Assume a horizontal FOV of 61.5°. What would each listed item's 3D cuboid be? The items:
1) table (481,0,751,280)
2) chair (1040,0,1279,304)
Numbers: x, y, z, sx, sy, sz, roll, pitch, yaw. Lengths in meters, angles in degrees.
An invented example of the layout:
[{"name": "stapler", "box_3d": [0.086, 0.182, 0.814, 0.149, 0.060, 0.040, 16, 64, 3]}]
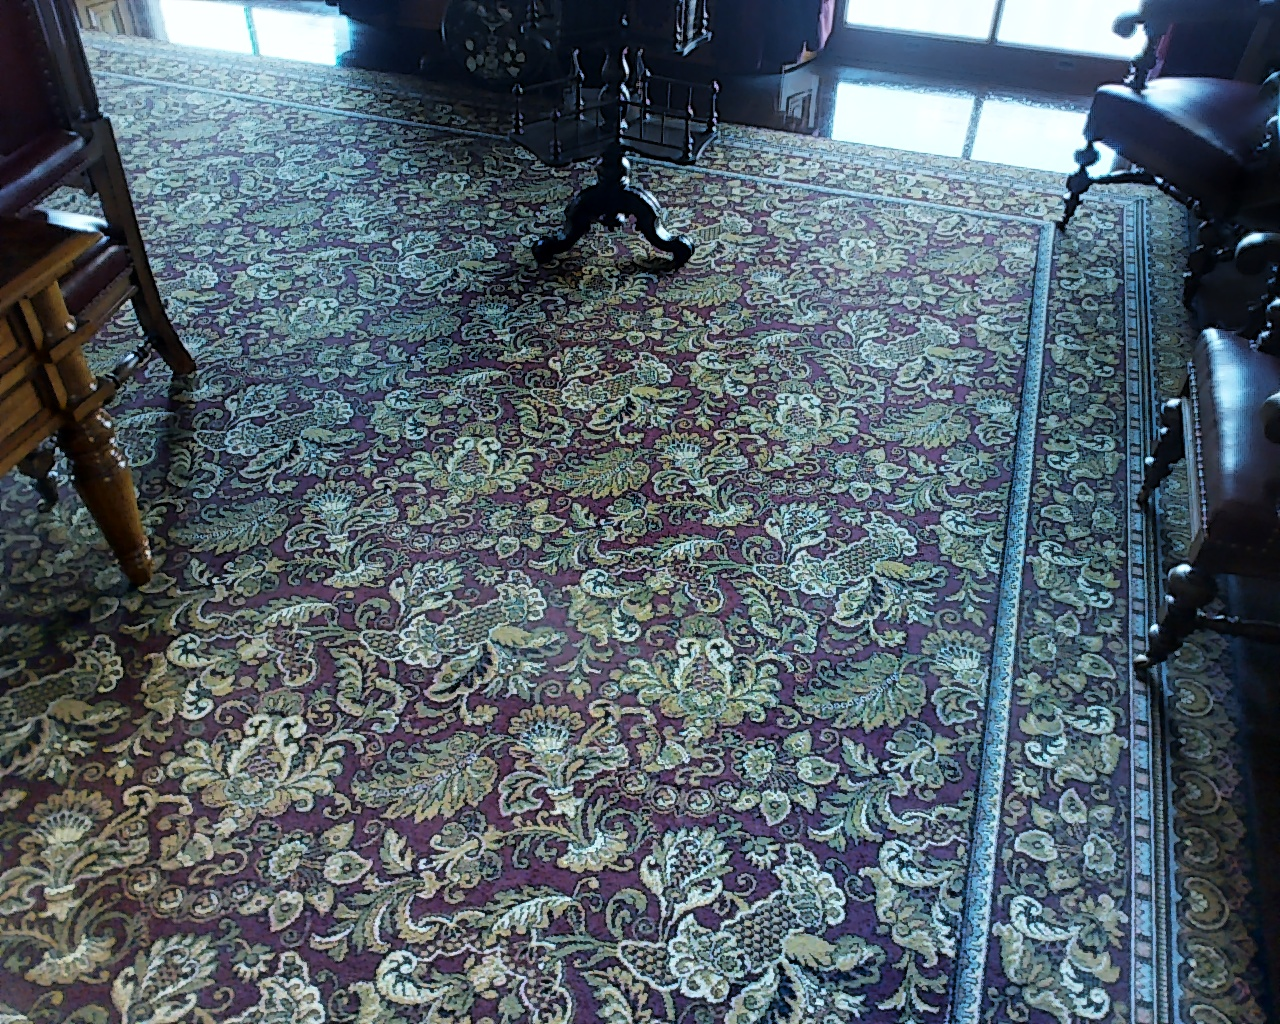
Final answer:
[{"name": "table", "box_3d": [-0.040, -1.360, 2.880, 0.550, 1.230, 0.610, 13, 44, 13]}, {"name": "chair", "box_3d": [1.760, -1.370, 2.880, 0.720, 1.310, 0.700, -15, 45, -17]}]
